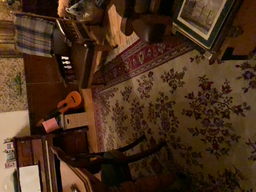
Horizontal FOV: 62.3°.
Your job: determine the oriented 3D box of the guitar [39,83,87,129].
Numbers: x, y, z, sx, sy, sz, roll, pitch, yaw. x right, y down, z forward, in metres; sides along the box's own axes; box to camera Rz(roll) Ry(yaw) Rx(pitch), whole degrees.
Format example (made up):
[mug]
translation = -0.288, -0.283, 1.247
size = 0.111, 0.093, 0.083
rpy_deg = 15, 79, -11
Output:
[guitar]
translation = -1.250, 0.190, 4.150
size = 0.310, 0.810, 0.360
rpy_deg = -36, 16, 24
